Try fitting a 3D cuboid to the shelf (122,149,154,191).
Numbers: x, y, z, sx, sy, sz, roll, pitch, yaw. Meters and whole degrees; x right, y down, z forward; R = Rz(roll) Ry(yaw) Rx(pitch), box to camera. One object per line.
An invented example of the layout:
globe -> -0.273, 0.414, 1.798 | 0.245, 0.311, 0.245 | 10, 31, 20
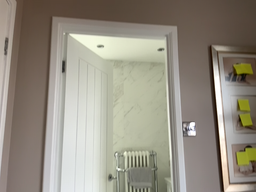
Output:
shelf -> 0.120, 1.220, 2.600 | 0.370, 1.090, 0.240 | -1, -10, 0
